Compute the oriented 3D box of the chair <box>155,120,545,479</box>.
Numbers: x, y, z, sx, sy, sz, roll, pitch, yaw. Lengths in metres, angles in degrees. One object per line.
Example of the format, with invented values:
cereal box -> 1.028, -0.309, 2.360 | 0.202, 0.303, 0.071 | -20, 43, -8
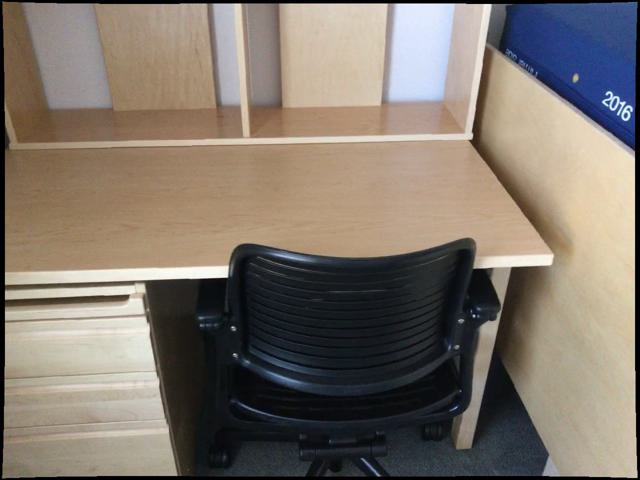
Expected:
chair -> 0.040, 0.261, 1.400 | 0.598, 0.862, 0.690 | -4, 32, -2
